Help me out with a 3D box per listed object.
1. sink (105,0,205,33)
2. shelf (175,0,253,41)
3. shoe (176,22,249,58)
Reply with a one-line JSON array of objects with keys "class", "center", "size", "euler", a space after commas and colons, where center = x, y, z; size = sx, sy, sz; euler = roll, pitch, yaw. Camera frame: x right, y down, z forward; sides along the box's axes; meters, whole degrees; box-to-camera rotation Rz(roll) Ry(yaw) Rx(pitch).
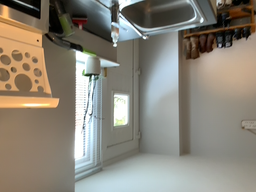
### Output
[{"class": "sink", "center": [0.200, -0.620, 1.390], "size": [0.480, 0.190, 0.520], "euler": [-2, 177, 30]}, {"class": "shelf", "center": [0.980, -1.070, 2.470], "size": [0.790, 0.670, 0.280], "euler": [-1, 177, 27]}, {"class": "shoe", "center": [0.960, -0.620, 2.450], "size": [0.750, 0.250, 0.250], "euler": [-1, 177, 26]}]
